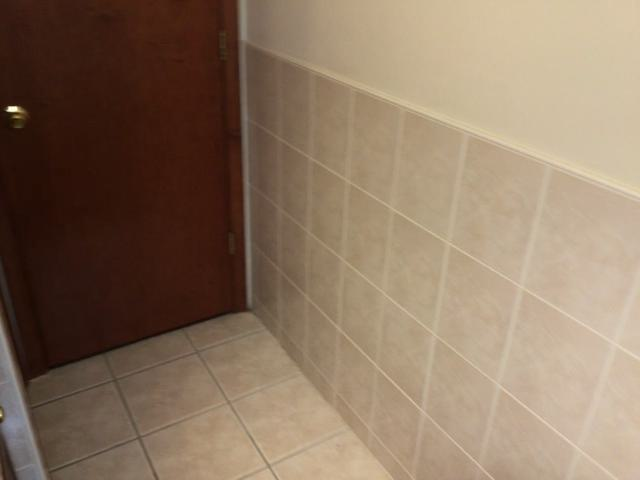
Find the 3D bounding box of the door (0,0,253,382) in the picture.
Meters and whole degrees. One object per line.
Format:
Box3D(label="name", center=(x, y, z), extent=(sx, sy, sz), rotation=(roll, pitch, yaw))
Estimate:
Box3D(label="door", center=(-0.610, -0.490, 1.710), extent=(0.810, 1.980, 0.060), rotation=(-15, 33, -28))
